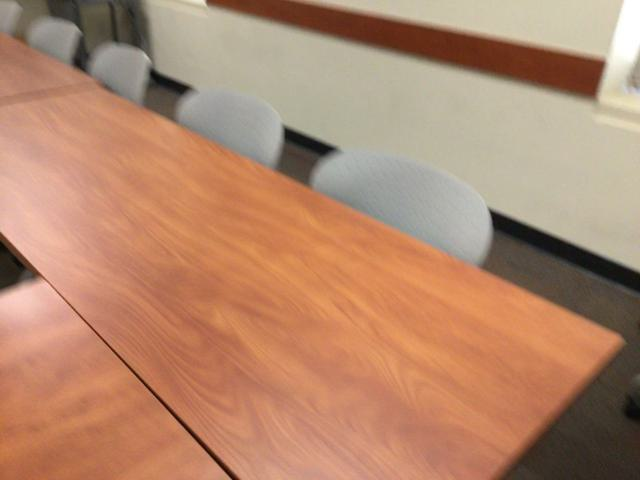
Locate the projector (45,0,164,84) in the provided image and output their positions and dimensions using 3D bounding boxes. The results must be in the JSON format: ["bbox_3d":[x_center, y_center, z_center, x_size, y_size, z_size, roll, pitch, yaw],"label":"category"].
[{"bbox_3d":[-1.510,-1.580,4.020,0.550,0.770,0.550,-25,41,-36],"label":"projector"}]
